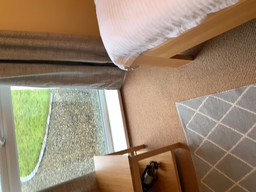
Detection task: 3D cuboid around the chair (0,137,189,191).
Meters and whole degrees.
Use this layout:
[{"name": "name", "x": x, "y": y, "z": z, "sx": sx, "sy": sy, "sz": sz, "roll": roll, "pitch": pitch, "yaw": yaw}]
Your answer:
[{"name": "chair", "x": -0.270, "y": 0.580, "z": 1.130, "sx": 0.410, "sy": 1.370, "sz": 0.450, "roll": -19, "pitch": 78, "yaw": 49}]
